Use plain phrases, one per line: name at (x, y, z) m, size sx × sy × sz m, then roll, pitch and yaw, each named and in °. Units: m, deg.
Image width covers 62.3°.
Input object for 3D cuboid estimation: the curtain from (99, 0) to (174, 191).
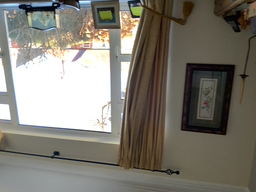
curtain at (0.090, -0.390, 1.870) m, size 0.560 × 2.620 × 0.380 m, roll 4°, pitch -165°, yaw 13°
